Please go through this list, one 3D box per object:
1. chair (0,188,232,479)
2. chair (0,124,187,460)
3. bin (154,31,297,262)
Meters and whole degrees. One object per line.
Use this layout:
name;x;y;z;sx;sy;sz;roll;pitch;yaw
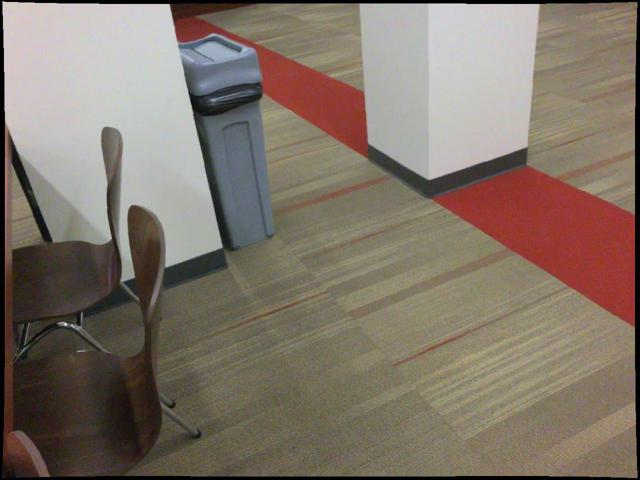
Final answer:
chair;-0.578;0.411;1.310;0.629;0.791;0.510;-15;32;-13
chair;-0.838;0.140;1.810;0.579;0.771;0.500;-17;33;-16
bin;-0.419;-0.431;2.620;0.329;0.872;0.510;-20;34;-21
